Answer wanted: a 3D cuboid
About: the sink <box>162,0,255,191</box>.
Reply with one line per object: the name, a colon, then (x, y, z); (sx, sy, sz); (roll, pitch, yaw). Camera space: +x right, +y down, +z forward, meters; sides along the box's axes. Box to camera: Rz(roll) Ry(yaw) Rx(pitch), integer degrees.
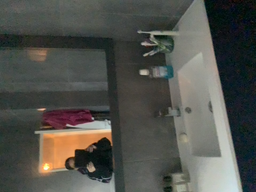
sink: (0.390, 0.060, 1.140); (0.470, 0.140, 0.990); (132, 135, -71)
